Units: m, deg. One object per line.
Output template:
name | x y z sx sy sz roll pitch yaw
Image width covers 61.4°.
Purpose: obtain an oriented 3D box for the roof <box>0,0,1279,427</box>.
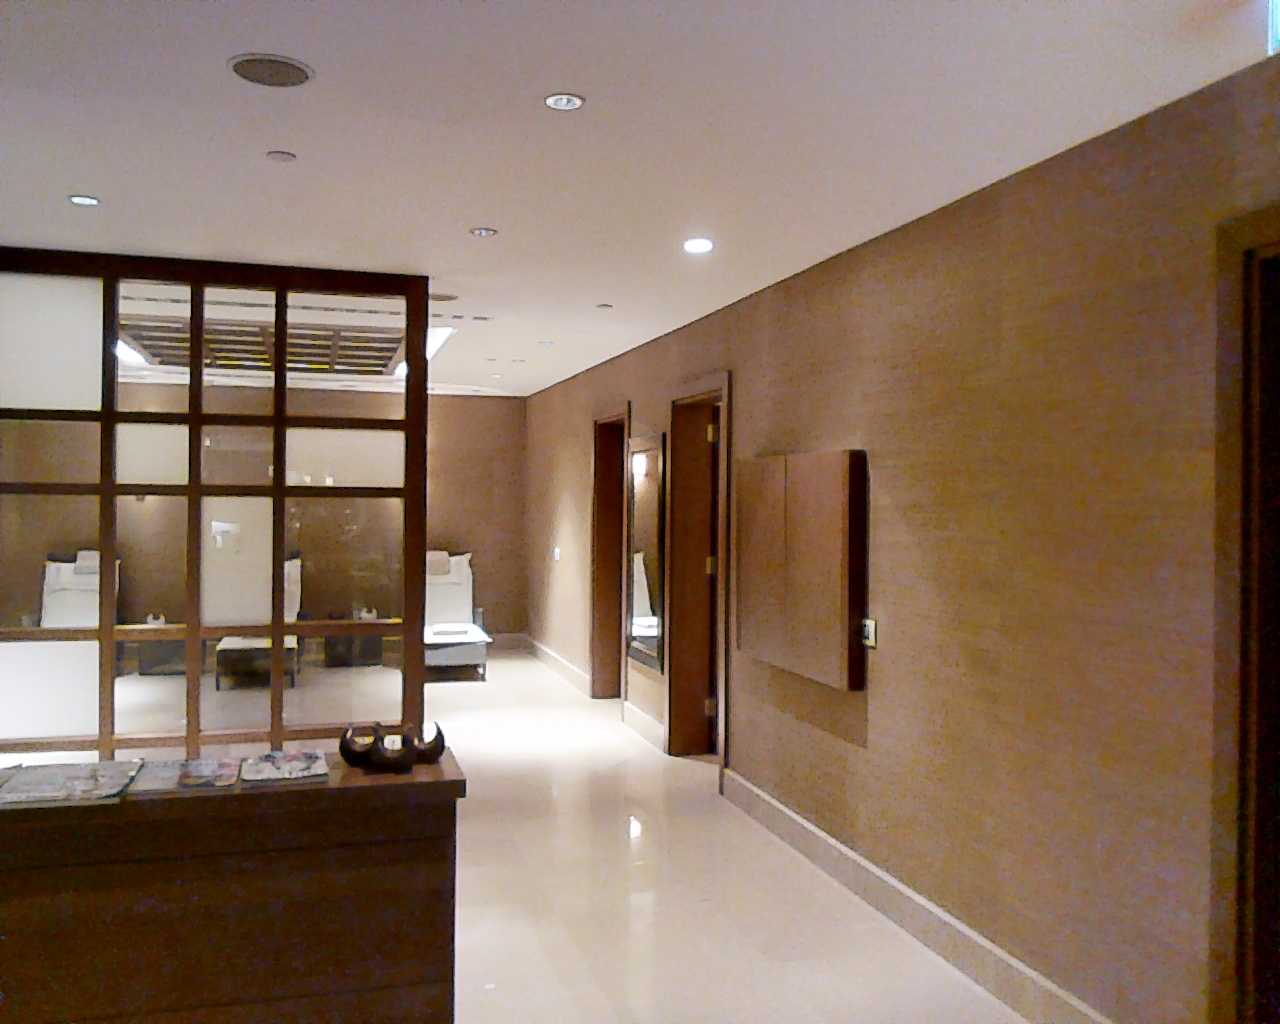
roof | -1.720 -1.020 4.810 4.789 0.230 11.790 1 0 -16
